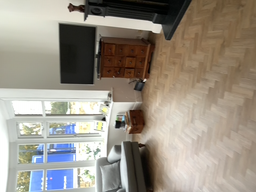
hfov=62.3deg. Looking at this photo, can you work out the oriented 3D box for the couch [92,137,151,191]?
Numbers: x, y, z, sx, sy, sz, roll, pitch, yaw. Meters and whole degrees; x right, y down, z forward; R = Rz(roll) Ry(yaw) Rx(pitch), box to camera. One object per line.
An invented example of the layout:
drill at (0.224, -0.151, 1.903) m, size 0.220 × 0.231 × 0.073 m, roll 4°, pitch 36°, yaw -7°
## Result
couch at (-0.200, 1.400, 3.950) m, size 1.050 × 0.790 × 0.920 m, roll 116°, pitch 151°, yaw -55°
